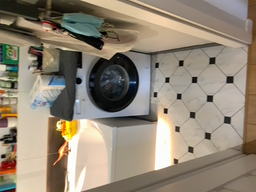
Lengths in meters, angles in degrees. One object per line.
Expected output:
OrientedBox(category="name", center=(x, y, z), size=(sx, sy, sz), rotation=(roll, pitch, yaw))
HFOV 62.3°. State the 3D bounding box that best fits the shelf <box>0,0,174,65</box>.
OrientedBox(category="shelf", center=(-0.390, -0.350, 1.150), size=(0.550, 1.300, 0.200), rotation=(6, 94, 50))
